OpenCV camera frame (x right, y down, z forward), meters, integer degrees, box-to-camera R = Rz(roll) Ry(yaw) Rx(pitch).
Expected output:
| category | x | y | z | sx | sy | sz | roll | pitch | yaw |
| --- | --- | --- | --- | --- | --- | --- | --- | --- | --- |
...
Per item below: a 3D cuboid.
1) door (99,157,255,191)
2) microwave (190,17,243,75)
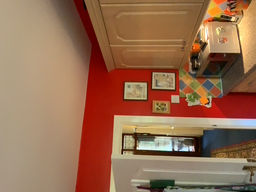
| category | x | y | z | sx | sy | sz | roll | pitch | yaw |
| --- | --- | --- | --- | --- | --- | --- | --- | --- | --- |
| door | 0.810 | 0.710 | 1.680 | 0.670 | 2.000 | 0.070 | 87 | -175 | -47 |
| microwave | 0.840 | -0.470 | 2.110 | 0.510 | 0.310 | 0.340 | 81 | -170 | -70 |
